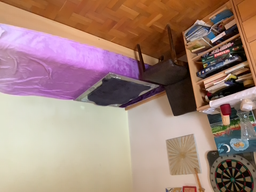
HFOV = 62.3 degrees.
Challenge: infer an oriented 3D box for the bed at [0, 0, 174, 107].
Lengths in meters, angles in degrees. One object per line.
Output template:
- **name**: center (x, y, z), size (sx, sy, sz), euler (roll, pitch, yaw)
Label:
- **bed**: center (-0.560, -0.300, 2.420), size (2.060, 0.400, 0.970), euler (10, 156, -37)

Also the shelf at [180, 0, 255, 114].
- **shelf**: center (0.860, -0.330, 1.970), size (0.330, 0.870, 0.500), euler (10, 156, -37)
